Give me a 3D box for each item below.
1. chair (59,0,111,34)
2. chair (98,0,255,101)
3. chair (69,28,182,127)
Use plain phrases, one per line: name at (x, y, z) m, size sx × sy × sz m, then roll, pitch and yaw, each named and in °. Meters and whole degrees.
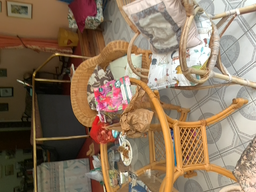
chair at (-0.720, -1.360, 3.500) m, size 0.520 × 0.710 × 0.460 m, roll 6°, pitch 94°, yaw 62°
chair at (0.320, -0.350, 1.330) m, size 0.570 × 0.810 × 0.670 m, roll 16°, pitch 102°, yaw 61°
chair at (-0.080, -0.090, 2.060) m, size 0.770 × 0.800 × 0.690 m, roll -23°, pitch 68°, yaw 60°
